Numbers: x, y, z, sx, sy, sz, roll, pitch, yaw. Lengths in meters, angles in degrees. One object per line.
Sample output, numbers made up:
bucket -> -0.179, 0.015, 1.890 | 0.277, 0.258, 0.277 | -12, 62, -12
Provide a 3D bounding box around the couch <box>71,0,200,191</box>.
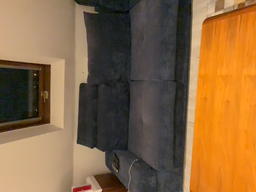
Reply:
couch -> -0.020, -0.570, 2.380 | 1.160, 1.010, 3.090 | -170, 81, -66
